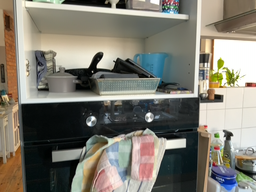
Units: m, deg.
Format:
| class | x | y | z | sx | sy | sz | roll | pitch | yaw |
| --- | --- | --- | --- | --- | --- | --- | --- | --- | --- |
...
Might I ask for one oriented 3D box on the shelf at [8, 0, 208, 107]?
| class | x | y | z | sx | sy | sz | roll | pitch | yaw |
| --- | --- | --- | --- | --- | --- | --- | --- | --- | --- |
| shelf | -0.100 | -0.380 | 0.930 | 0.650 | 0.750 | 0.540 | -2 | 7 | -17 |
